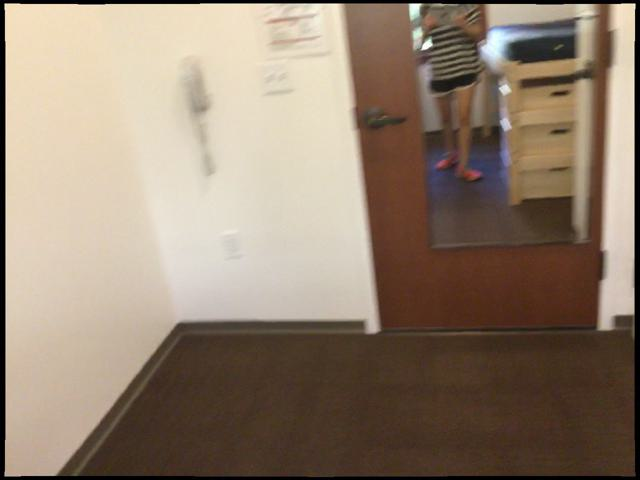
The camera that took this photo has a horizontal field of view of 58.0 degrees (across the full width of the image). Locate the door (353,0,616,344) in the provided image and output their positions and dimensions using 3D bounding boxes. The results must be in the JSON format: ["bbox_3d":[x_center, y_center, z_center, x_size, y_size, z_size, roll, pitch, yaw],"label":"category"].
[{"bbox_3d":[0.599,-0.461,2.140,0.868,1.883,0.070,-3,20,10],"label":"door"}]
